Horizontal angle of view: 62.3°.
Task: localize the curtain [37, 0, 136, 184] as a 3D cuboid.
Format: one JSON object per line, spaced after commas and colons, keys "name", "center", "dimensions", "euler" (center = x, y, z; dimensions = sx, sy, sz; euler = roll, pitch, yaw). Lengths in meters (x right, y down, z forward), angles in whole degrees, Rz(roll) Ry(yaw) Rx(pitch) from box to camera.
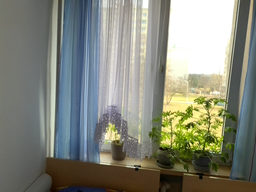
{"name": "curtain", "center": [-0.340, -0.210, 1.700], "dimensions": [0.730, 1.810, 0.070], "euler": [4, 6, 4]}
